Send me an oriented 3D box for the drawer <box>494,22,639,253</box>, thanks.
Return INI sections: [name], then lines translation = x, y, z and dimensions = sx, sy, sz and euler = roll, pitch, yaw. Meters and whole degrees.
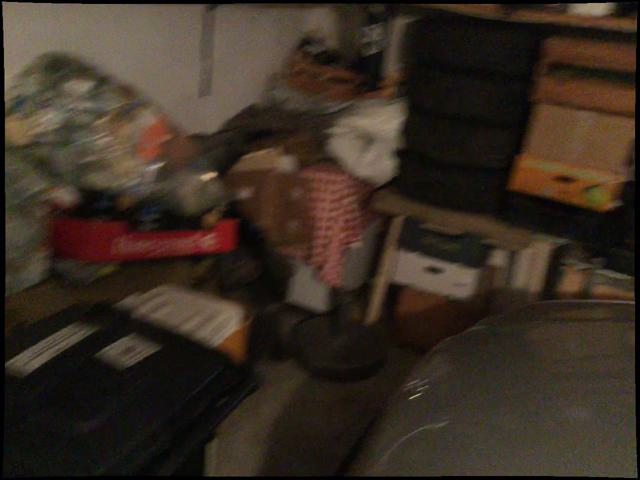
[drawer]
translation = 1.069, -0.440, 2.350
dimensions = 0.470, 0.761, 0.490
euler = 16, 29, 21
